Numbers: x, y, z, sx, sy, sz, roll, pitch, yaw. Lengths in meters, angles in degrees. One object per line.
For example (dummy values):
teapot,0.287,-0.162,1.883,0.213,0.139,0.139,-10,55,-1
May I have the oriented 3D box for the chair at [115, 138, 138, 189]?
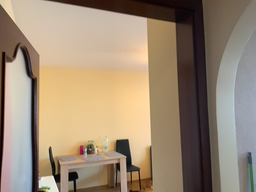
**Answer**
chair,-0.050,1.430,4.610,0.340,0.970,0.440,1,-4,-23
